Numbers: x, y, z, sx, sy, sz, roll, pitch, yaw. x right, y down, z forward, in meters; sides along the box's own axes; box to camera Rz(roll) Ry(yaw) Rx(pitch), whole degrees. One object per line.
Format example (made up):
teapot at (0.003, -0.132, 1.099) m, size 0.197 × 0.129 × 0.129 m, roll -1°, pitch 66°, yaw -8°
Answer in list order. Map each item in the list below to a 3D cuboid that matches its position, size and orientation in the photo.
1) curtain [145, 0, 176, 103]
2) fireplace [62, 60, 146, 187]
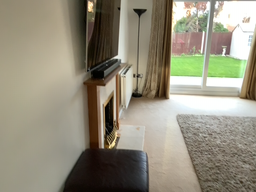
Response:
curtain at (0.650, -1.040, 4.330) m, size 0.510 × 2.360 × 0.250 m, roll 2°, pitch 16°, yaw 7°
fireplace at (-0.150, 0.160, 2.450) m, size 0.660 × 0.980 × 1.320 m, roll 2°, pitch 16°, yaw 5°
